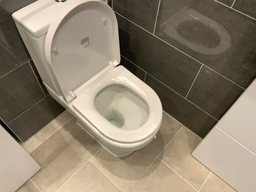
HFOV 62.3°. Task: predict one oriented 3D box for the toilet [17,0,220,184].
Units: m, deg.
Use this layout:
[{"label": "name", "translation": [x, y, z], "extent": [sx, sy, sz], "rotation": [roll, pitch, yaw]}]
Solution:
[{"label": "toilet", "translation": [-0.070, -0.010, 1.070], "extent": [0.610, 0.840, 0.370], "rotation": [40, 62, 21]}]
